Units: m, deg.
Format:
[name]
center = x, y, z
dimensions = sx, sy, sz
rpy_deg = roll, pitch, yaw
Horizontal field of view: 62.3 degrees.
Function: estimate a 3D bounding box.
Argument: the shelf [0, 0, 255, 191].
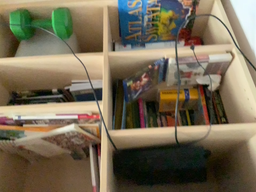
[shelf]
center = -0.050, -0.060, 0.950
dimensions = 0.950, 1.080, 0.510
rpy_deg = -2, 149, 1
